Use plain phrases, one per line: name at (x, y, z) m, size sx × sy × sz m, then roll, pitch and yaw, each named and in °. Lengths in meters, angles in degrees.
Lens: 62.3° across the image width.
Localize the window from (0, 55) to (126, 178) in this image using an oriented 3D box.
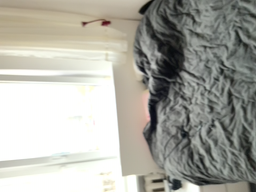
window at (-0.780, 0.160, 2.060) m, size 0.130 × 1.480 × 1.090 m, roll 154°, pitch 114°, yaw -69°
